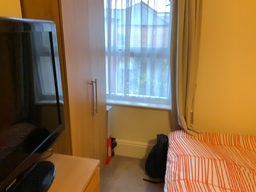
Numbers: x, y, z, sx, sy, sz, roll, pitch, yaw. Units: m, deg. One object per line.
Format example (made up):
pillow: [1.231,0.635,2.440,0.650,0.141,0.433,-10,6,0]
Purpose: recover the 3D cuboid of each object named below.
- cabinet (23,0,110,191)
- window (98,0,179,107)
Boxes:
cabinet: [-0.420,0.020,1.850,0.280,1.800,0.830,5,18,11]
window: [0.090,-0.730,2.180,0.810,1.690,0.060,5,18,11]
